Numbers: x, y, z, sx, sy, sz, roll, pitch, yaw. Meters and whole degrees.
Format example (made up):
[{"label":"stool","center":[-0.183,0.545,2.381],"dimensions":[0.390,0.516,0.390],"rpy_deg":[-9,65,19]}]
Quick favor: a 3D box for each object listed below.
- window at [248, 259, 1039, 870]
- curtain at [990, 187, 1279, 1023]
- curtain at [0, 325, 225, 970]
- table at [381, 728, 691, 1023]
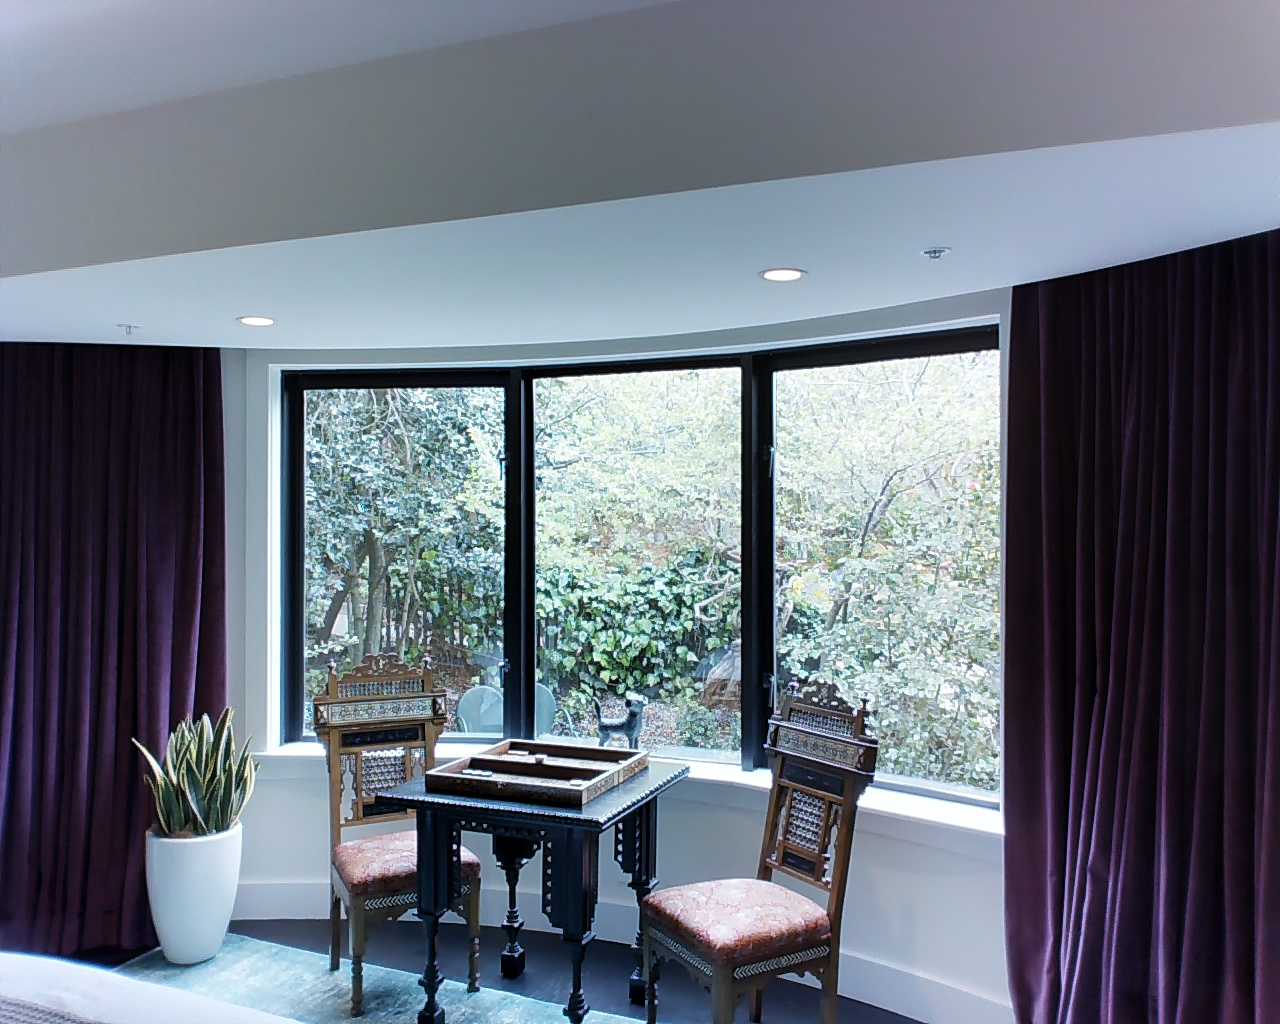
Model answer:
[{"label":"window","center":[-0.100,0.160,3.740],"dimensions":[2.760,1.700,0.490],"rpy_deg":[-1,0,22]},{"label":"curtain","center":[1.190,0.430,2.460],"dimensions":[0.160,2.150,0.830],"rpy_deg":[-1,0,-29]},{"label":"curtain","center":[-1.950,0.450,3.730],"dimensions":[0.920,2.150,0.160],"rpy_deg":[-1,0,-19]},{"label":"table","center":[-0.290,1.110,3.220],"dimensions":[0.710,0.760,0.620],"rpy_deg":[-1,0,22]}]
